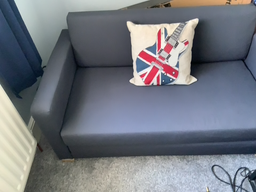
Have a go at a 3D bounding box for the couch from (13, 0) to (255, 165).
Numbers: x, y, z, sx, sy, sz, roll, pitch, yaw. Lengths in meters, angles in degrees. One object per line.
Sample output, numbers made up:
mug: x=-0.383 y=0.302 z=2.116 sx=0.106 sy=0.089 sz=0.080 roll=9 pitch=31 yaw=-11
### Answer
couch: x=0.230 y=-0.100 z=1.370 sx=1.390 sy=0.700 sz=0.780 roll=-2 pitch=49 yaw=1
